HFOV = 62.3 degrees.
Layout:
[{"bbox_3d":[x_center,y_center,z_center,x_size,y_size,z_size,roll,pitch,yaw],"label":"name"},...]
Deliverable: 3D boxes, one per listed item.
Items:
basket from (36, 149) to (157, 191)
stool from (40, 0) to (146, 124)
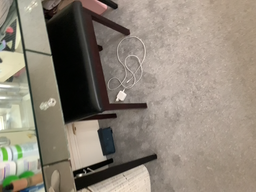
[{"bbox_3d":[-0.150,0.660,1.170,0.360,0.570,0.560,5,92,34],"label":"basket"},{"bbox_3d":[-0.190,-0.170,1.290,0.250,0.510,0.590,-20,78,32],"label":"stool"}]
